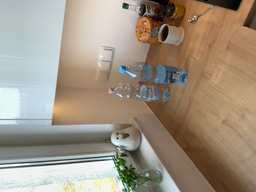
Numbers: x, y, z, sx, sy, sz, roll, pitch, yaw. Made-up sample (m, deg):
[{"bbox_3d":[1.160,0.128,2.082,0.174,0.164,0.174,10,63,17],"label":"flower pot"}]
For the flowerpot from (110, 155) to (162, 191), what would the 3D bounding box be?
[{"bbox_3d":[0.030,0.330,0.890,0.110,0.170,0.100,55,136,51],"label":"flowerpot"}]

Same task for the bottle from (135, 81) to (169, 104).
[{"bbox_3d":[0.130,-0.020,1.150,0.080,0.140,0.090,54,135,52],"label":"bottle"}]

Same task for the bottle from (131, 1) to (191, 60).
[{"bbox_3d":[0.160,-0.350,1.120,0.250,0.150,0.210,57,137,49],"label":"bottle"}]

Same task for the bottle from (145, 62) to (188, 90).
[{"bbox_3d":[0.190,-0.100,1.050,0.100,0.160,0.090,55,136,51],"label":"bottle"}]
